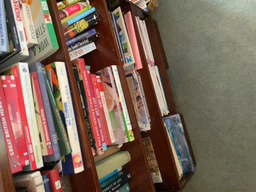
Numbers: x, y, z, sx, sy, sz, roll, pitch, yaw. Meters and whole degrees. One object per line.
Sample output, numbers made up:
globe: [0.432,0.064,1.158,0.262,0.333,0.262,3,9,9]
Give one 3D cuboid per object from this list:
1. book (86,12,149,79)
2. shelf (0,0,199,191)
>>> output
book: [-0.050,-0.230,1.040,0.180,0.180,0.250,-19,83,32]
shelf: [-0.080,0.070,0.910,0.260,1.020,0.900,-18,84,33]
